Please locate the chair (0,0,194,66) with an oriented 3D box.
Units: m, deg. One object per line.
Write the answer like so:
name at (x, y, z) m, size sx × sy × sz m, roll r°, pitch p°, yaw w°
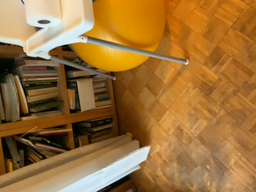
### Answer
chair at (-0.160, -0.410, 1.010) m, size 0.560 × 0.870 × 0.420 m, roll -7°, pitch 91°, yaw 41°
